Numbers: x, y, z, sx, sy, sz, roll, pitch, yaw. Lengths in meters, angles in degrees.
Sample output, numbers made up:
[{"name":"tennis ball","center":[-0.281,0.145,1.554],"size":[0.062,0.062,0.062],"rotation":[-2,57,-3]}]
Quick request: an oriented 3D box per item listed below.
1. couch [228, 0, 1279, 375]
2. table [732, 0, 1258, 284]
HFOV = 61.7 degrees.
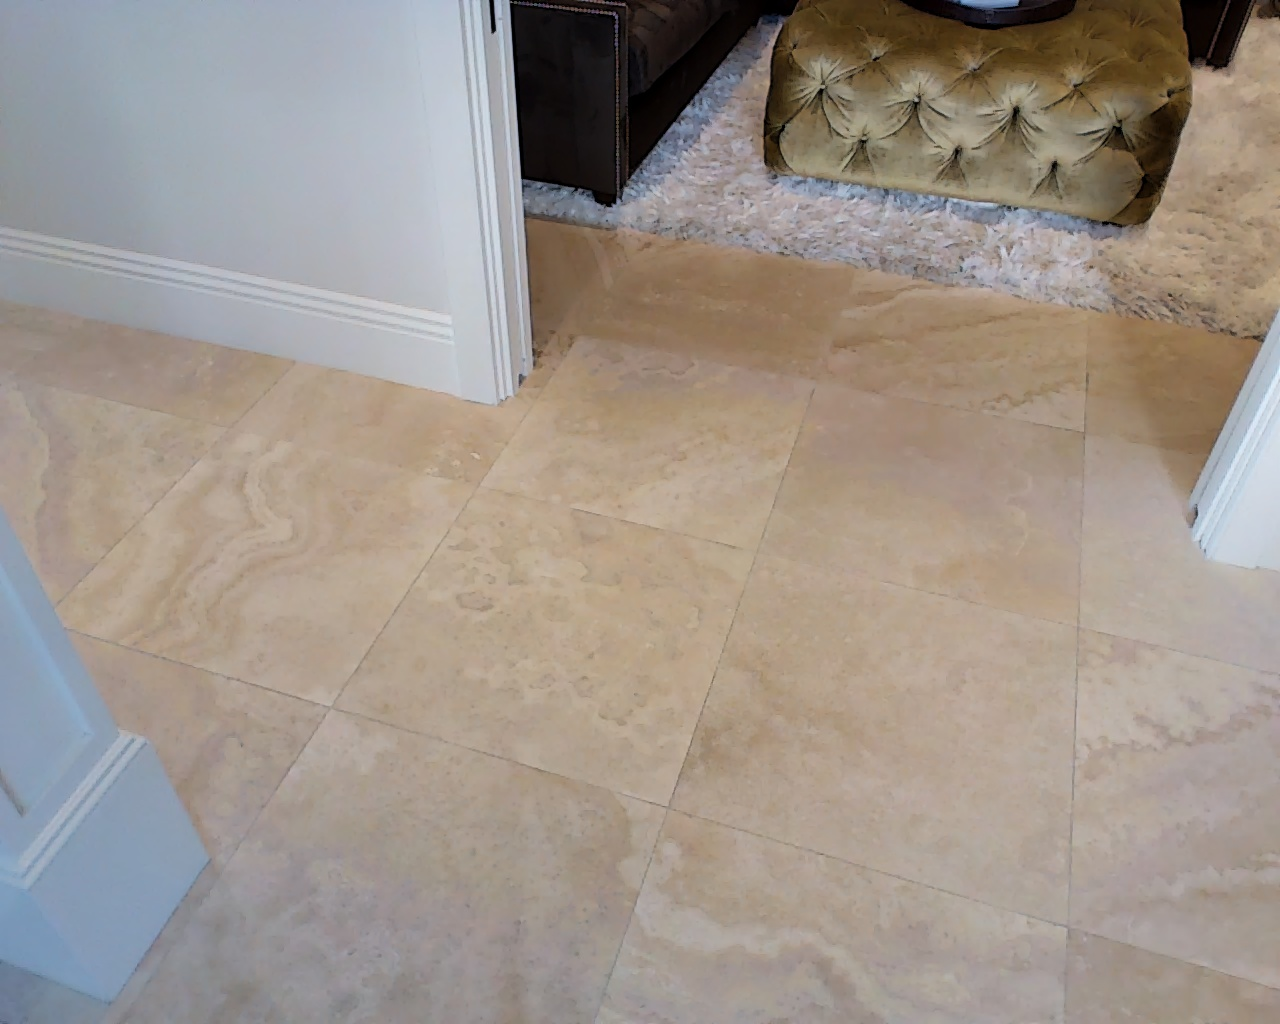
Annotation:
[{"name":"couch","center":[0.710,-1.940,3.680],"size":[2.910,0.980,2.900],"rotation":[13,44,13]},{"name":"table","center":[1.090,-1.370,3.370],"size":[1.280,0.530,1.270],"rotation":[13,44,13]}]
